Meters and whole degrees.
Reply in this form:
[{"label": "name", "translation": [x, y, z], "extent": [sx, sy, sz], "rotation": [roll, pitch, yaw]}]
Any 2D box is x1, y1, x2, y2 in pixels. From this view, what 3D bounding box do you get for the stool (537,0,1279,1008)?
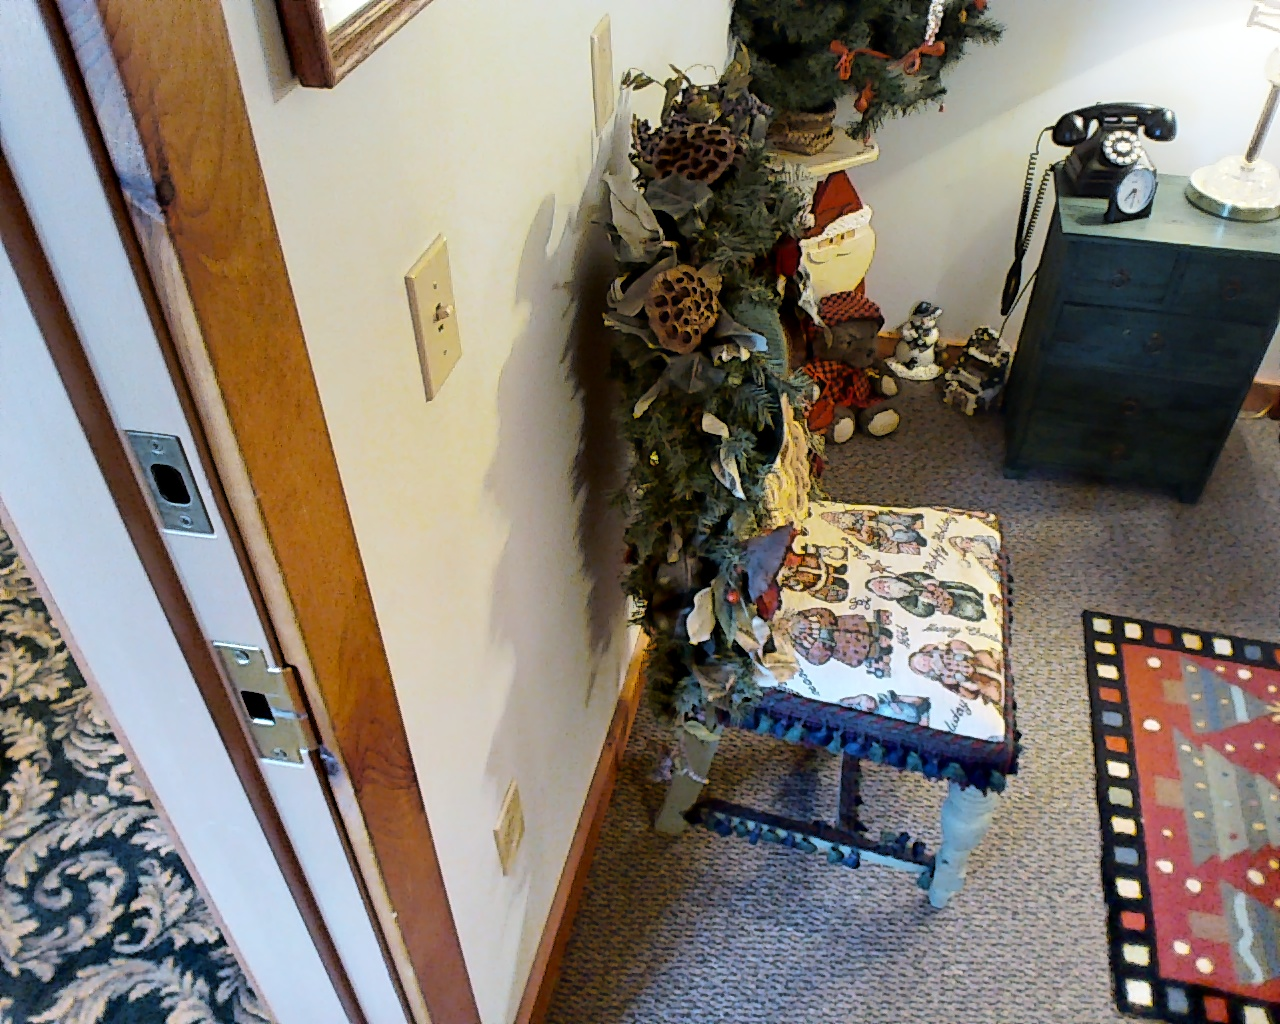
[{"label": "stool", "translation": [0.330, -0.040, 1.430], "extent": [0.640, 1.110, 0.760], "rotation": [11, 43, 12]}]
